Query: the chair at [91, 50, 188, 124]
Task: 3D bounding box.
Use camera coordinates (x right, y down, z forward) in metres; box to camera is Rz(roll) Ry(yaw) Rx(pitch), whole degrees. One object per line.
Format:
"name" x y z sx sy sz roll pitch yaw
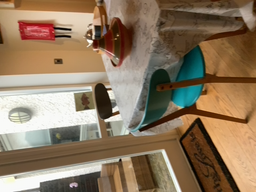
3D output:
"chair" 0.070 -0.100 2.230 0.540 0.790 0.520 113 148 -52

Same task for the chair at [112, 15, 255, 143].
"chair" 0.380 -0.110 1.330 0.500 0.800 0.520 108 152 -47
